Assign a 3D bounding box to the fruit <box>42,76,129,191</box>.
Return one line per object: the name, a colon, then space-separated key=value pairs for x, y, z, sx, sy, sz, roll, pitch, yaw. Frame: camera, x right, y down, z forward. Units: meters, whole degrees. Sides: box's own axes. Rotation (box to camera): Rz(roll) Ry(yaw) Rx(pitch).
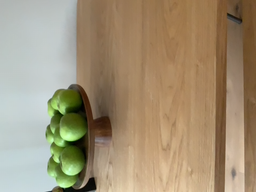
fruit: x=-0.150 y=0.110 z=0.650 sx=0.320 sy=0.170 sz=0.300 roll=-4 pitch=86 yaw=61
